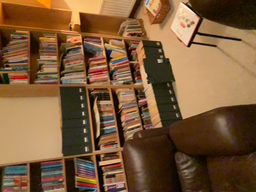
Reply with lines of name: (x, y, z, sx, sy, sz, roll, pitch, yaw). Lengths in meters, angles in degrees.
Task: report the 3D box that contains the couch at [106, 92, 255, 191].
couch: (0.520, 0.690, 1.510, 1.110, 0.960, 1.170, 146, 120, -63)
